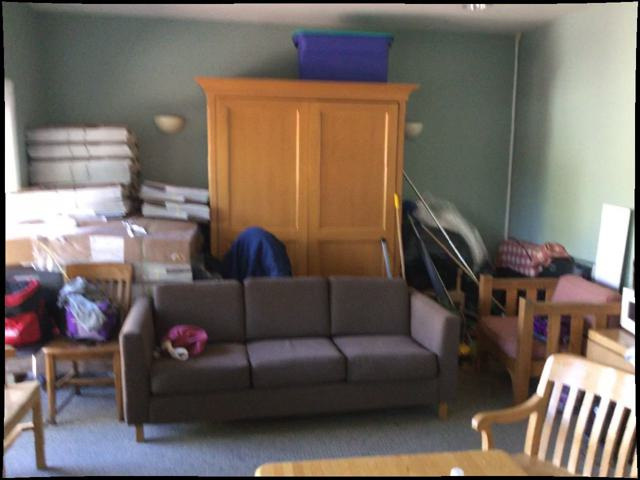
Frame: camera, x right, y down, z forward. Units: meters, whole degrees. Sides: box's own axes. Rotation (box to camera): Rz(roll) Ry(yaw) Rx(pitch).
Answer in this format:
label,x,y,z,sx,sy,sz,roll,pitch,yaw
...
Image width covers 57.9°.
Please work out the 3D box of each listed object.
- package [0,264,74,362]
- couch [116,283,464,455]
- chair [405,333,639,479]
label,x,y,z,sx,sy,sz,roll,pitch,yaw
package,-1.838,0.440,3.650,0.370,0.460,0.540,-2,10,-9
couch,-0.160,0.701,3.390,1.838,0.671,0.600,-2,10,-9
chair,0.739,0.831,1.900,0.669,0.791,0.660,-5,11,-21
